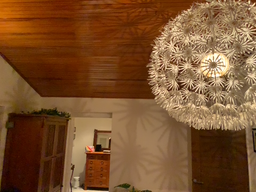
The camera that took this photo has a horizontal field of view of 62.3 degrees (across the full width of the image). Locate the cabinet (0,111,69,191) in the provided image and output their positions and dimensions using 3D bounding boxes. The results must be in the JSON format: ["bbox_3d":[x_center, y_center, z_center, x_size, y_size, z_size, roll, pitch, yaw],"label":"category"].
[{"bbox_3d":[-1.590,1.260,3.640,0.660,1.900,1.050,1,-9,5],"label":"cabinet"}]

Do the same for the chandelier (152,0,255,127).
[{"bbox_3d":[0.640,-0.310,1.590,0.820,1.050,0.910,1,-9,1],"label":"chandelier"}]
